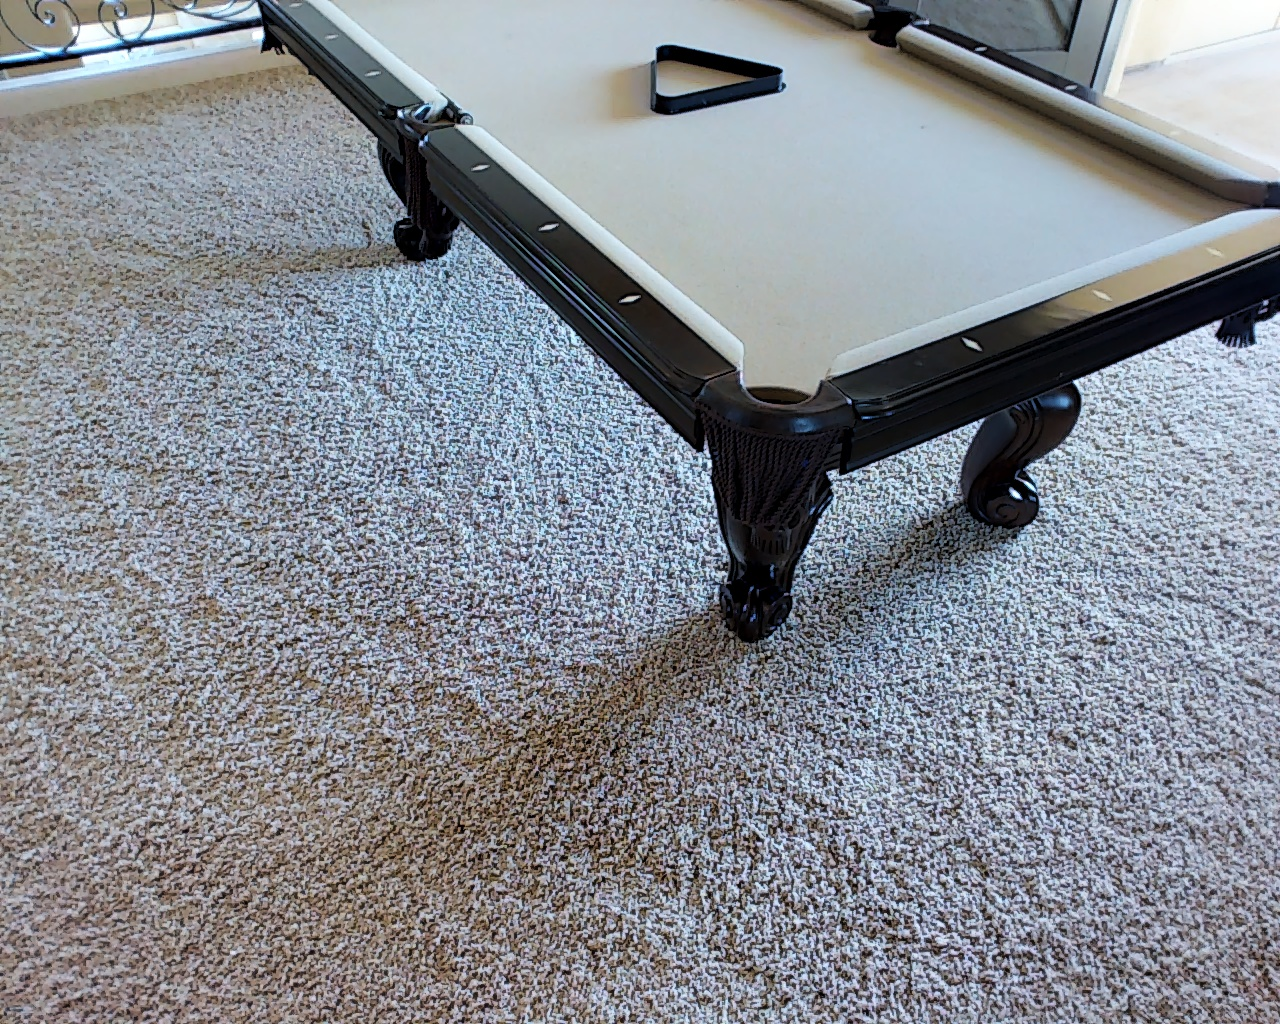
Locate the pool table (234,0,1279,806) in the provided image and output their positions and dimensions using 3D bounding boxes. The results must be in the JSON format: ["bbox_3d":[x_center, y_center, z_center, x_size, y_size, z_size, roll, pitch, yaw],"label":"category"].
[{"bbox_3d":[0.090,-0.710,2.470,1.350,0.740,2.350,-20,46,-21],"label":"pool table"}]
